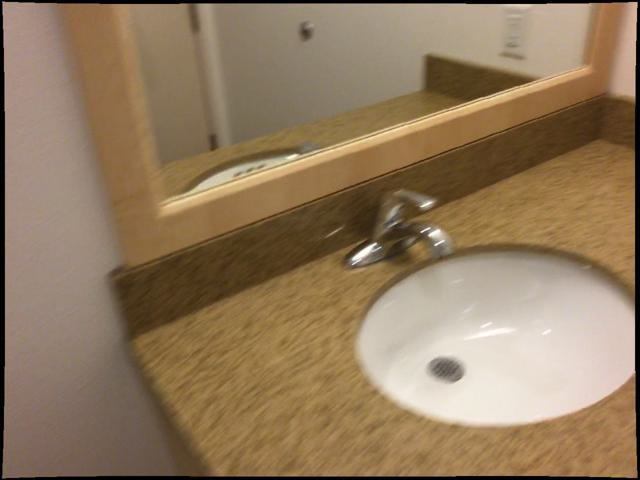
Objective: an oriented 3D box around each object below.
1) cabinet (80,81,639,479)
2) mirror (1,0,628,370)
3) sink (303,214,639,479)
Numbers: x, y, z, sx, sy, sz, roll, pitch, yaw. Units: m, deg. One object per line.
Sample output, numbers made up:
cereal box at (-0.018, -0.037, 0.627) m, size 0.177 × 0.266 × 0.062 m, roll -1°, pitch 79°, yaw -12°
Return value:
cabinet at (0.359, 0.381, 1.050) m, size 1.138 × 0.952 × 0.590 m, roll -24°, pitch 36°, yaw -26°
mirror at (0.150, -0.231, 0.970) m, size 1.108 × 0.481 × 0.060 m, roll -24°, pitch 36°, yaw -26°
sink at (0.259, 0.180, 0.850) m, size 0.419 × 0.180 × 0.370 m, roll -24°, pitch 36°, yaw -26°
